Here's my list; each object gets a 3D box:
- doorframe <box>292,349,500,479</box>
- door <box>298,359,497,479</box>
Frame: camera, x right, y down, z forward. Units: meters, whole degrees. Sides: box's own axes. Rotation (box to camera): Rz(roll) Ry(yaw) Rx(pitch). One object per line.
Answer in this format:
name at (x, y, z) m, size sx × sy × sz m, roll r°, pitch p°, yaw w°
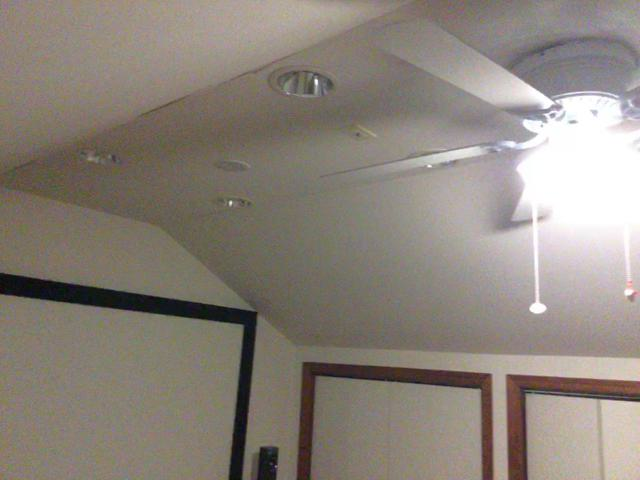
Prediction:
doorframe at (0.320, 1.440, 3.090) m, size 1.230 × 1.600 × 0.140 m, roll -5°, pitch -16°, yaw 44°
door at (0.330, 1.490, 3.090) m, size 1.190 × 1.580 × 0.120 m, roll -5°, pitch -16°, yaw 44°
